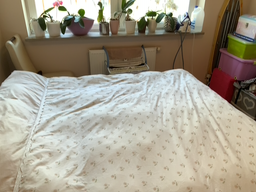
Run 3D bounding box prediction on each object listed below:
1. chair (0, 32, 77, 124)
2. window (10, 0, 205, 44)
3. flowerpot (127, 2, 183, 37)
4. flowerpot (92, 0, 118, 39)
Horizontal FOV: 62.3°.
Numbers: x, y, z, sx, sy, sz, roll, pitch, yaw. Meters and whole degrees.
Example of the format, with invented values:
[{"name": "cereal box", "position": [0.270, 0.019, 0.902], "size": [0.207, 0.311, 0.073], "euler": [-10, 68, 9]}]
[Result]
[{"name": "chair", "position": [-1.020, -0.230, 2.560], "size": [0.700, 0.960, 0.460], "euler": [-5, 29, -13]}, {"name": "window", "position": [-0.160, -1.500, 2.430], "size": [2.290, 1.680, 0.270], "euler": [-5, 29, -11]}, {"name": "flowerpot", "position": [0.330, -1.010, 2.800], "size": [0.650, 0.390, 0.300], "euler": [-3, 28, -8]}, {"name": "flowerpot", "position": [-0.300, -1.000, 2.740], "size": [0.310, 0.460, 0.250], "euler": [-3, 28, -8]}]
